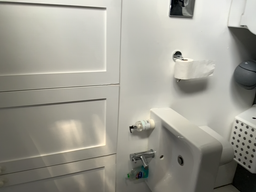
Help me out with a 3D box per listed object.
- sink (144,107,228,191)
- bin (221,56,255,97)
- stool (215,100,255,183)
[{"bbox_3d":[0.290,0.420,1.250,0.450,0.170,0.570,-138,47,-60],"label":"sink"},{"bbox_3d":[0.840,-0.140,1.420,0.170,0.350,0.220,-138,46,-59],"label":"bin"},{"bbox_3d":[0.890,0.300,1.520,0.360,0.250,0.430,-139,48,-60],"label":"stool"}]
